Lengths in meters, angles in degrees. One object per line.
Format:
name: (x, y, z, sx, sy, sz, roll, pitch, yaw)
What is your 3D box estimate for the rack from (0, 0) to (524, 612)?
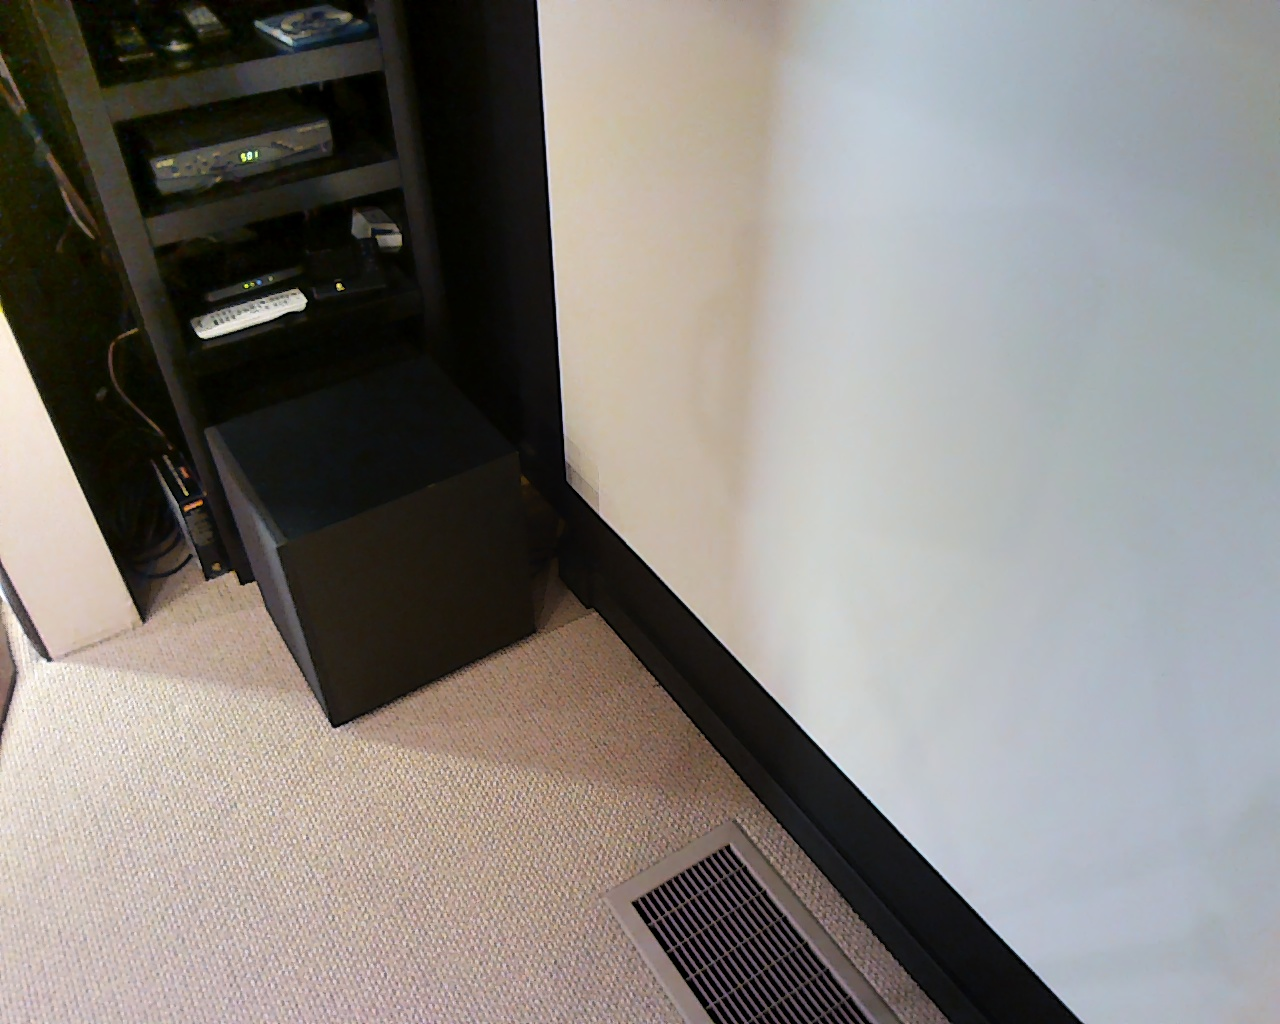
rack: (-0.670, -0.770, 1.780, 0.640, 1.860, 0.560, -22, 46, -23)

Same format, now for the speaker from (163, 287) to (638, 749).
speaker: (-0.420, -0.020, 2.000, 0.660, 0.460, 0.510, -23, 46, -24)
